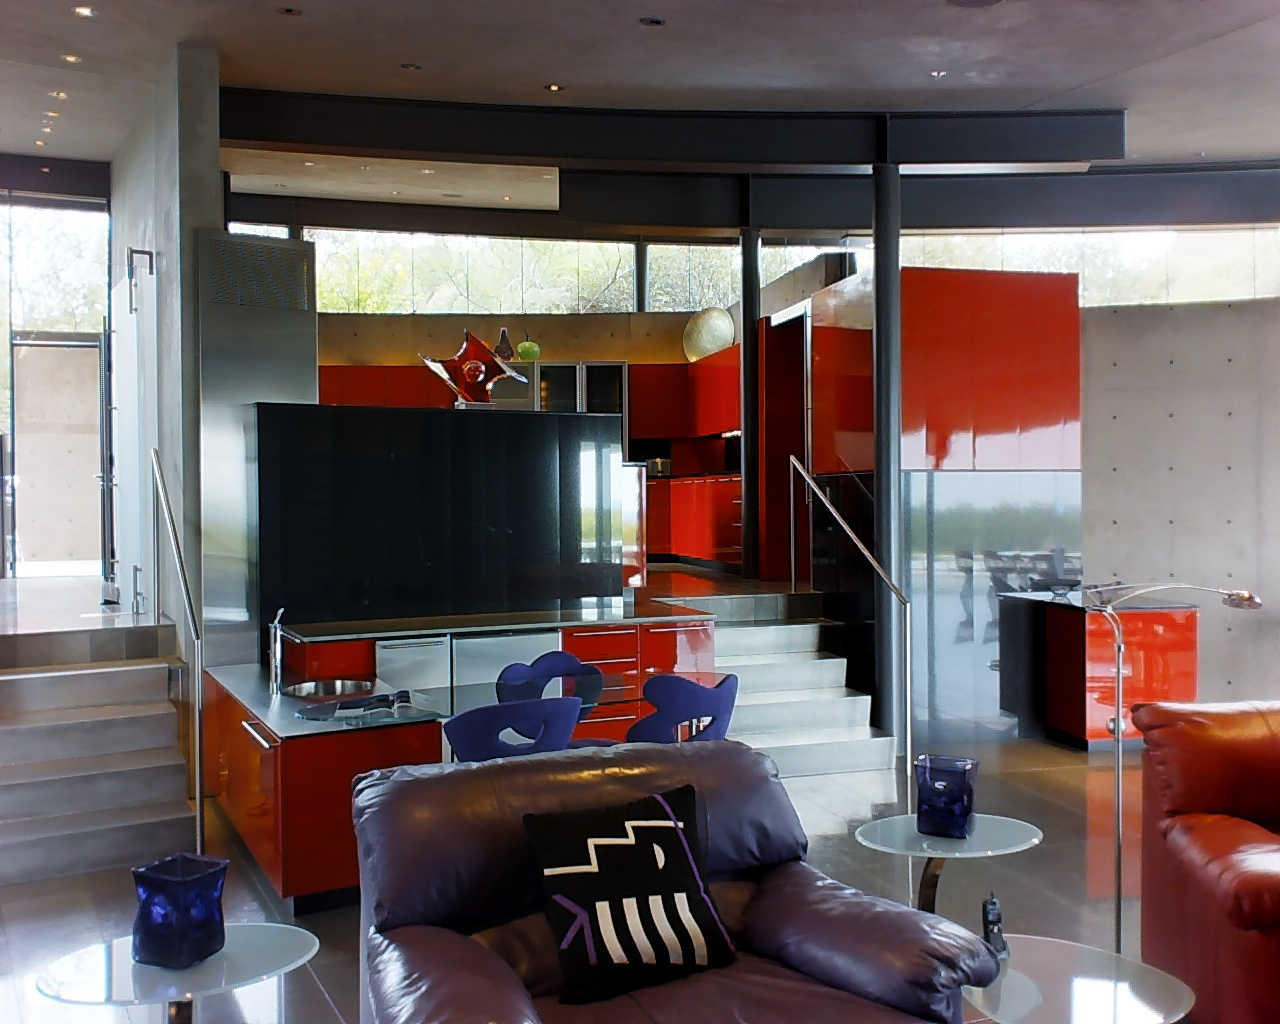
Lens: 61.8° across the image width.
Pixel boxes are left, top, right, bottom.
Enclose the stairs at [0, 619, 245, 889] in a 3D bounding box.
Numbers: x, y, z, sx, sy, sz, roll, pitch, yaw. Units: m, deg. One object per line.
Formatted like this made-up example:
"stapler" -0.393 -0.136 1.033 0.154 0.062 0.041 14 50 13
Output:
"stairs" -2.689 1.090 5.200 1.210 0.900 1.330 -1 3 -31
